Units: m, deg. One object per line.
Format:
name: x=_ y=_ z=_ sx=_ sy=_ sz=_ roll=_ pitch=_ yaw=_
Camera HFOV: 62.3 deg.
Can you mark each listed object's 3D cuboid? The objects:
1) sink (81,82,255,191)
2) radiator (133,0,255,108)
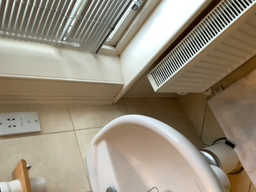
sink: x=0.120 y=0.340 z=0.650 sx=0.490 sy=0.180 sz=0.580 roll=-45 pitch=58 yaw=39
radiator: x=0.520 y=-0.260 z=0.880 sx=0.950 sy=0.570 sz=0.120 roll=-45 pitch=58 yaw=38
